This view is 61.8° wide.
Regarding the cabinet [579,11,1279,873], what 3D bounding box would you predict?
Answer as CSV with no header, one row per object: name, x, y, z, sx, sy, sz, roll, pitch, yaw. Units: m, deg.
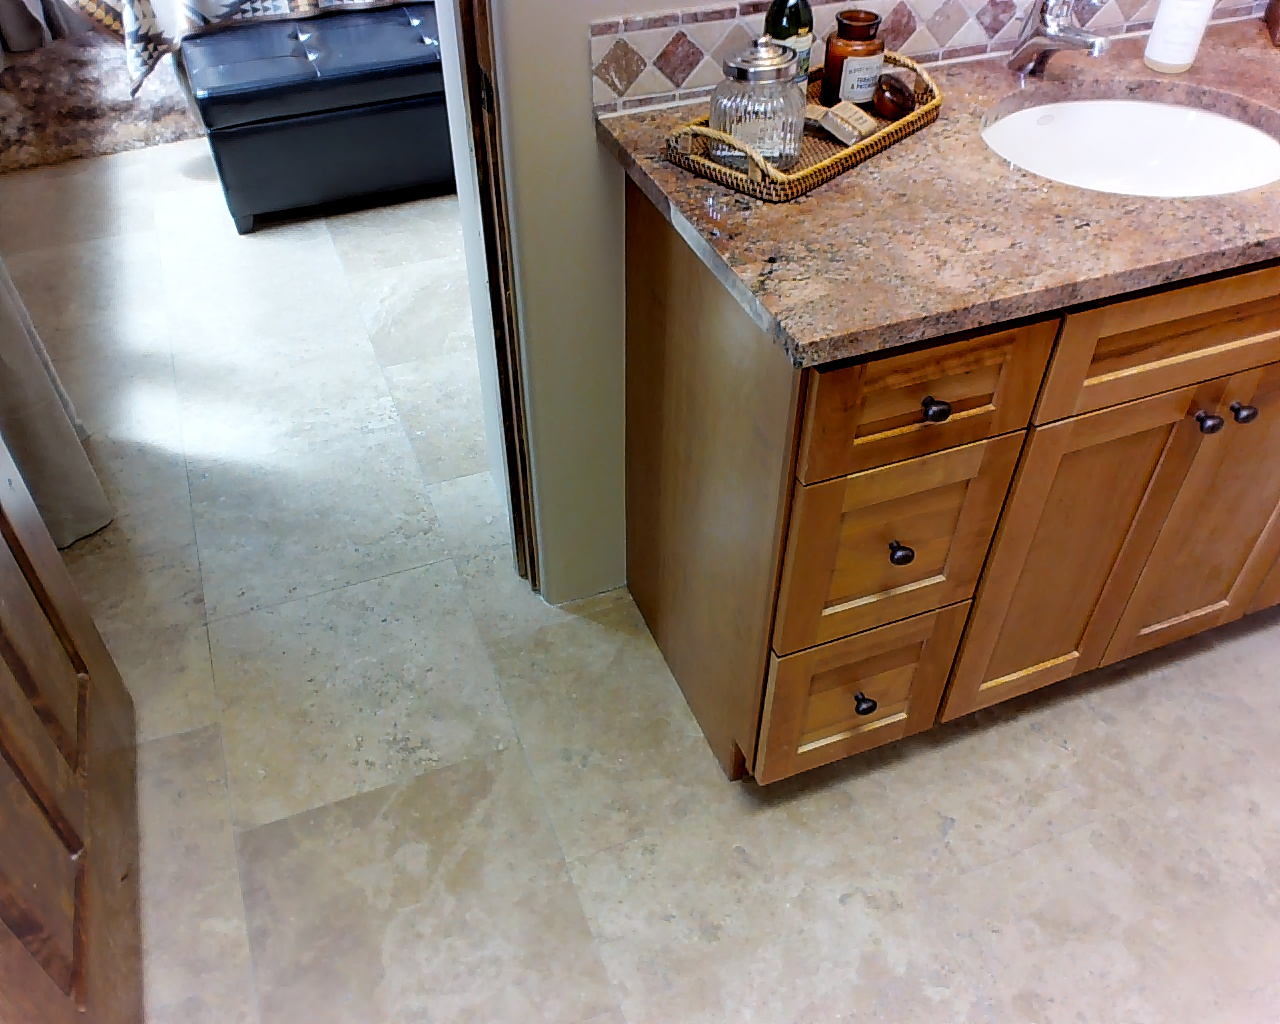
cabinet,0.610,-0.140,1.650,1.250,0.900,0.580,-15,45,-16

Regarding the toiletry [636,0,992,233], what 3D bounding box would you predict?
toiletry,0.210,-0.530,1.280,0.220,0.200,0.390,33,52,31

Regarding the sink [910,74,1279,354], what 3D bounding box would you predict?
sink,0.640,-0.410,1.420,0.420,0.170,0.320,-15,45,-16
